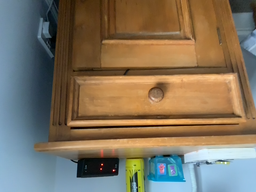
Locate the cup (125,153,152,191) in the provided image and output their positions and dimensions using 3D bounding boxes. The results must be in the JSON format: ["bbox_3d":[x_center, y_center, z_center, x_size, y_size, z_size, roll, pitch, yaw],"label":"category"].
[{"bbox_3d":[0.040,0.340,0.800,0.090,0.230,0.090,-2,161,0],"label":"cup"}]
